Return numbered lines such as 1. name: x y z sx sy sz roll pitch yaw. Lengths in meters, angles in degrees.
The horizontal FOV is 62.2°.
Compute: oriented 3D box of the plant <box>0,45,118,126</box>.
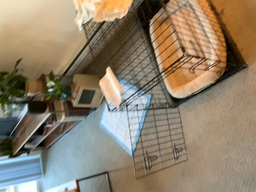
1. plant: -0.750 -0.060 2.120 0.550 1.100 0.500 -34 64 44
